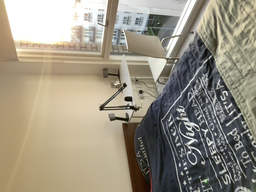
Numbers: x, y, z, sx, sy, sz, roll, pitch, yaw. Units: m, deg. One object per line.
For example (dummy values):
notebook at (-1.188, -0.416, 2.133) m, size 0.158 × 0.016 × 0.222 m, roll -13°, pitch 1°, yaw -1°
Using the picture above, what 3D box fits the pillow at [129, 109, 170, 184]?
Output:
pillow at (0.190, 0.510, 2.170) m, size 0.390 × 0.190 × 0.630 m, roll 110°, pitch 155°, yaw -53°

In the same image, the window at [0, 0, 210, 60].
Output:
window at (-0.330, -0.920, 2.510) m, size 1.050 × 2.380 × 0.230 m, roll 109°, pitch 155°, yaw -52°
